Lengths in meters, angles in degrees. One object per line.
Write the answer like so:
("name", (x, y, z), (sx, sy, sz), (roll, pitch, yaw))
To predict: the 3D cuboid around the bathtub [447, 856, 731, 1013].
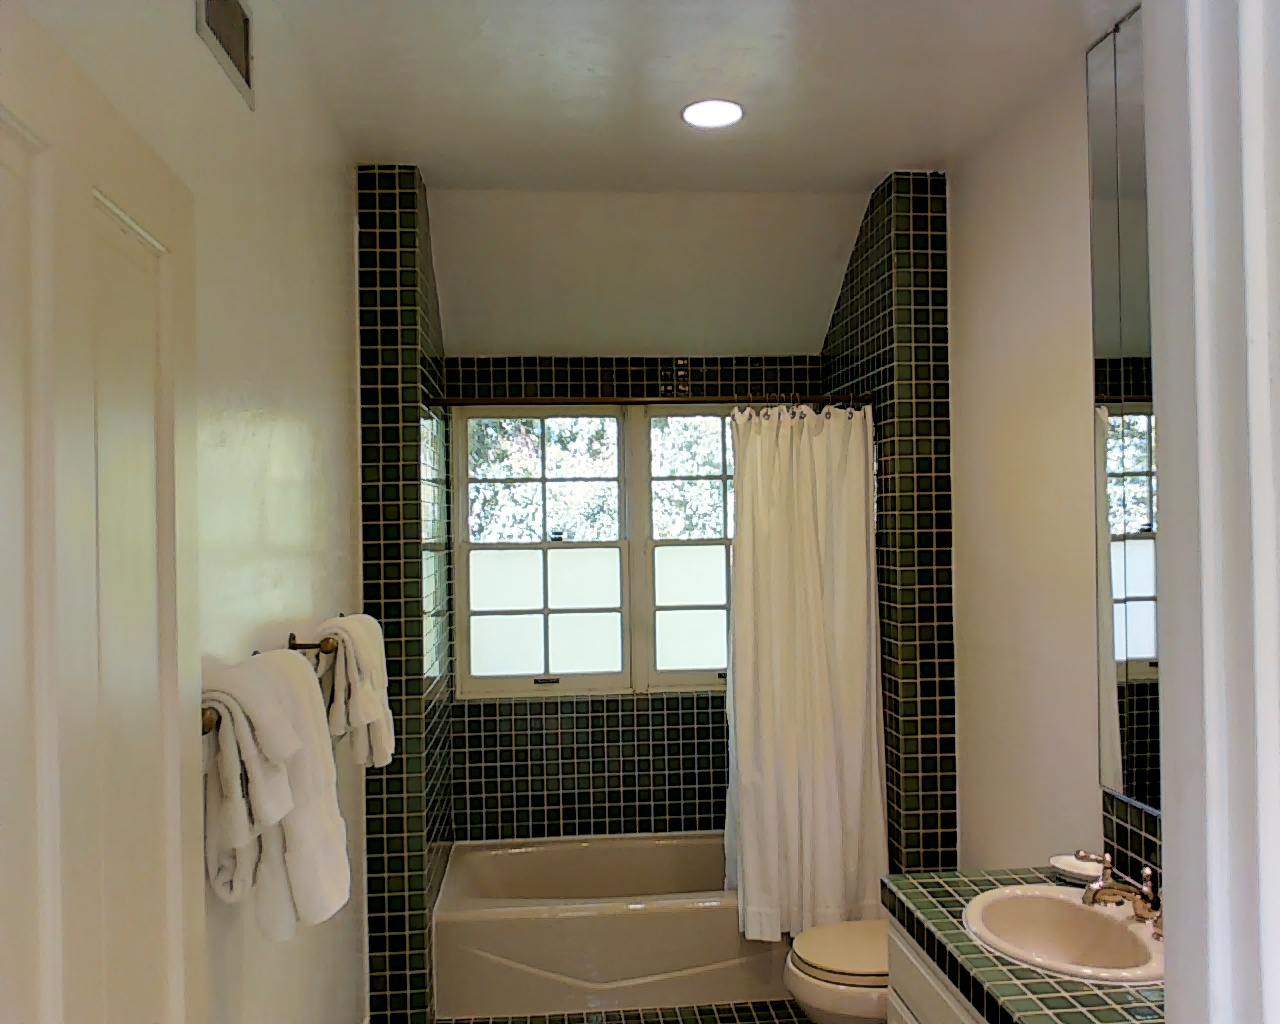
("bathtub", (-0.170, 1.410, 3.600), (0.920, 0.410, 0.180), (-1, 0, -5))
